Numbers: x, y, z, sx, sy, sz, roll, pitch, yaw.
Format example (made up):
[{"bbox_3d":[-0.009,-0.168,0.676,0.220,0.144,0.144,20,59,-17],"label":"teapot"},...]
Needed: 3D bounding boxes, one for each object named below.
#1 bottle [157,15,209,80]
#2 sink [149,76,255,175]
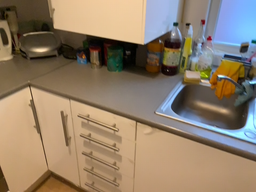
[{"bbox_3d":[0.360,-0.330,1.370,0.180,0.310,0.360,18,33,26],"label":"bottle"},{"bbox_3d":[0.410,0.100,1.110,0.430,0.170,0.480,16,32,24],"label":"sink"}]
